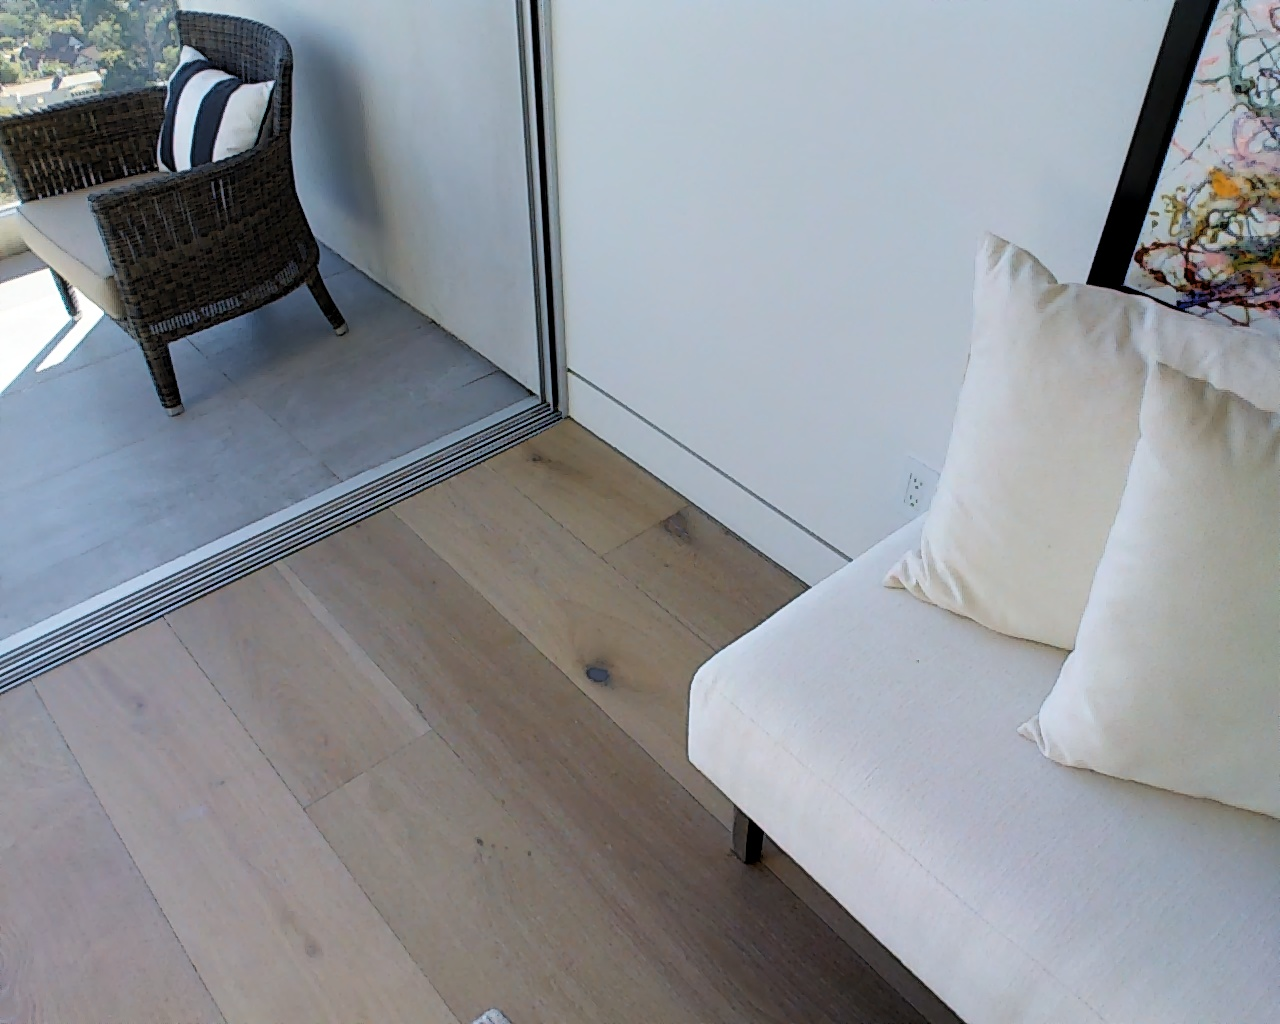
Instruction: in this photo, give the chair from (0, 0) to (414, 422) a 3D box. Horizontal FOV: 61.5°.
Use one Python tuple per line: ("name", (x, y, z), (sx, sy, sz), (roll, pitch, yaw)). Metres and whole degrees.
("chair", (-1.230, -0.880, 2.880), (0.780, 0.710, 0.850), (-32, 51, -28))
